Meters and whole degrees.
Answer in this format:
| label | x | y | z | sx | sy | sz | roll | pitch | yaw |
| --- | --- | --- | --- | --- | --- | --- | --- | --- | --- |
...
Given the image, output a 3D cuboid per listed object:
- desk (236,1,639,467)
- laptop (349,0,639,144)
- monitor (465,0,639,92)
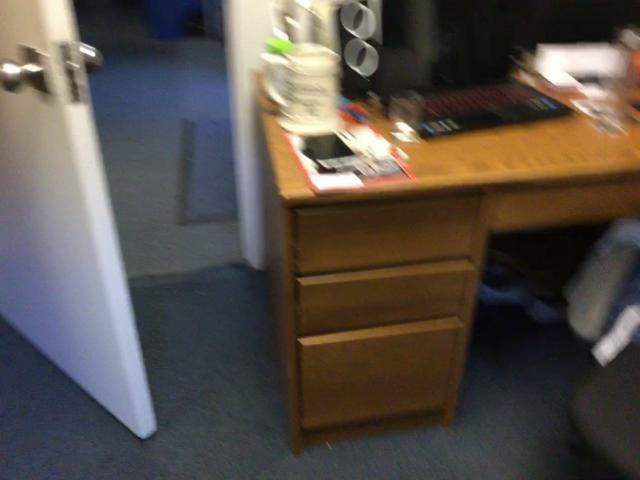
| label | x | y | z | sx | sy | sz | roll | pitch | yaw |
| --- | --- | --- | --- | --- | --- | --- | --- | --- | --- |
| desk | 0.590 | -0.110 | 1.640 | 1.520 | 0.890 | 0.810 | -6 | 33 | -9 |
| laptop | 0.400 | -0.460 | 1.390 | 0.570 | 0.260 | 0.440 | -6 | 33 | -9 |
| monitor | 0.710 | -0.640 | 1.520 | 0.520 | 0.380 | 0.300 | -6 | 33 | -9 |
